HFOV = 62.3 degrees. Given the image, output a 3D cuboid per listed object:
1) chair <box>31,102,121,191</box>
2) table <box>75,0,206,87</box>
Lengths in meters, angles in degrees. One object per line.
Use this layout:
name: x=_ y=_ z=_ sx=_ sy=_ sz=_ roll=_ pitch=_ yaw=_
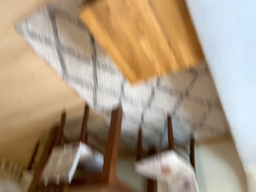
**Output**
chair: x=-0.430 y=0.650 z=2.010 sx=0.440 sy=0.980 sz=0.560 roll=-13 pitch=135 yaw=19
table: x=0.100 y=-0.430 z=1.190 sx=0.460 sy=0.390 sz=0.540 roll=-18 pitch=133 yaw=24
